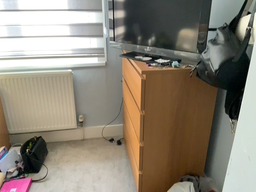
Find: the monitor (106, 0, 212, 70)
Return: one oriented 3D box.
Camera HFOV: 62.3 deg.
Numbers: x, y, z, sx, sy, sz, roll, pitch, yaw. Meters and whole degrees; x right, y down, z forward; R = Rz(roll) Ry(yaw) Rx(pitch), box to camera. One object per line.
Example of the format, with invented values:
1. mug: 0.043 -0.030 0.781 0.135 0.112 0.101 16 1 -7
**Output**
1. monitor: 0.130 -0.500 1.360 0.050 0.520 0.790 -20 29 -41
